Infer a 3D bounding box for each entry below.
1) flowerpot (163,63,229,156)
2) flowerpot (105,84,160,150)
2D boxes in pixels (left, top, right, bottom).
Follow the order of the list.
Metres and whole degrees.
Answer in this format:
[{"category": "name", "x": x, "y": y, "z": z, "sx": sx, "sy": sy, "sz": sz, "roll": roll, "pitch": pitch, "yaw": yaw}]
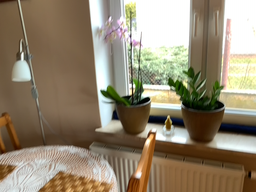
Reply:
[{"category": "flowerpot", "x": 0.380, "y": 0.060, "z": 1.210, "sx": 0.310, "sy": 0.460, "sz": 0.220, "roll": 4, "pitch": 19, "yaw": 21}, {"category": "flowerpot", "x": 0.040, "y": 0.120, "z": 1.340, "sx": 0.280, "sy": 0.340, "sz": 0.210, "roll": 2, "pitch": 18, "yaw": 18}]
